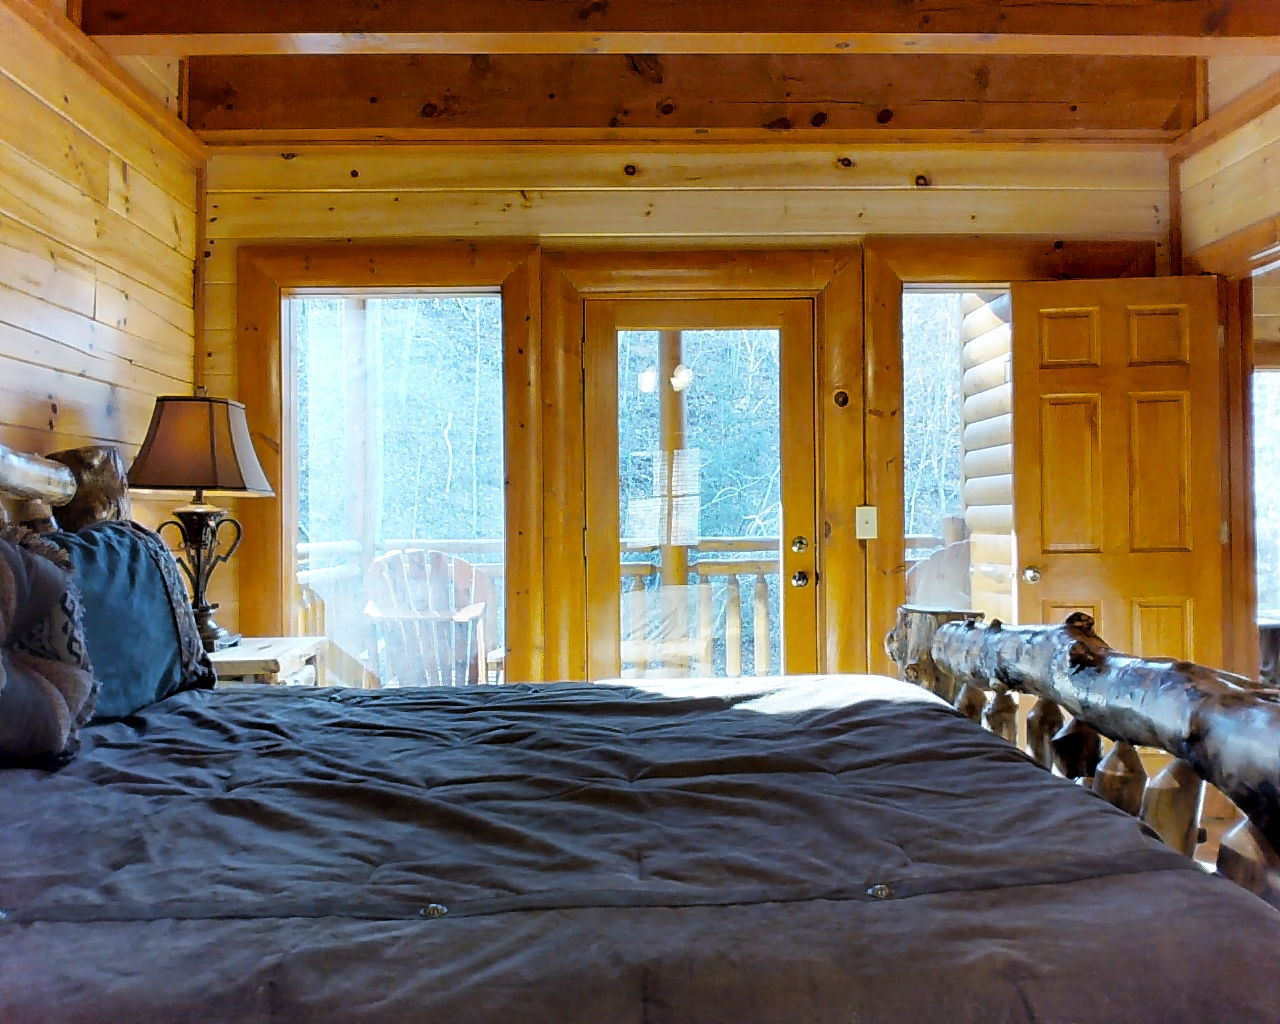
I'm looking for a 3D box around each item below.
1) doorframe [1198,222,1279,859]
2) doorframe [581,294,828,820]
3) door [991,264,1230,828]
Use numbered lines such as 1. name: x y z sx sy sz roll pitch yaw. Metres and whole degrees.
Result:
1. doorframe: 2.239 0.100 3.630 0.220 2.121 0.870 -1 0 -2
2. doorframe: 0.250 0.170 4.250 0.940 2.031 0.140 -1 0 -2
3. door: 1.759 0.130 4.050 0.810 2.071 0.110 -1 0 6
